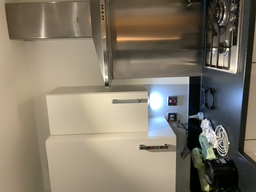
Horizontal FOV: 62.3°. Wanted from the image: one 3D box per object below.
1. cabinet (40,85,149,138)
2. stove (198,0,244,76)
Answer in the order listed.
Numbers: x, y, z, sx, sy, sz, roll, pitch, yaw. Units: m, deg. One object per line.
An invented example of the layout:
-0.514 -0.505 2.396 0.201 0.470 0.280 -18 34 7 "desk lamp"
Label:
-0.230 0.100 1.660 0.370 0.740 0.290 -97 5 -77 "cabinet"
0.580 -0.530 1.380 0.560 0.030 0.730 -97 5 -77 "stove"
